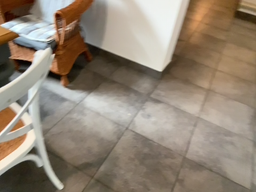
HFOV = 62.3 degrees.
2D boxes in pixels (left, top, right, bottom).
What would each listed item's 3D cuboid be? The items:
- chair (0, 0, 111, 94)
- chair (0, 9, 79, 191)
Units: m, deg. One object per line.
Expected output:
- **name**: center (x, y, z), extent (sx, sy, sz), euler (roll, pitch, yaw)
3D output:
- **chair**: center (-0.630, -0.670, 1.820), extent (0.680, 0.850, 0.780), euler (20, 42, 10)
- **chair**: center (-0.580, 0.170, 0.860), extent (0.560, 0.870, 0.480), euler (31, 45, 21)
